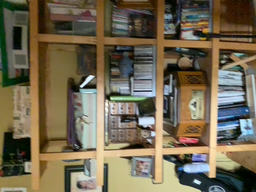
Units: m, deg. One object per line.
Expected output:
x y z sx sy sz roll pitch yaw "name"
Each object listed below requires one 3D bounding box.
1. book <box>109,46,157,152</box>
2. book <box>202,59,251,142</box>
0.020 0.020 1.540 0.370 0.280 0.670 -179 89 -80 "book"
0.770 0.030 1.680 0.220 0.270 0.610 -173 83 -80 "book"
